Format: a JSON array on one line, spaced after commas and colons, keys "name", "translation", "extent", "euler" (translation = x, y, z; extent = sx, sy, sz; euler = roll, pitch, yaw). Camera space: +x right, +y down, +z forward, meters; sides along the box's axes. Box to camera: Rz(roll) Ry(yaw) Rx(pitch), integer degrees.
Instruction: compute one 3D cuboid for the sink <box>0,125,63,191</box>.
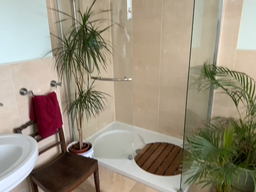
[{"name": "sink", "translation": [-0.830, 0.450, 1.210], "extent": [0.540, 0.210, 0.670], "euler": [11, 22, 31]}]
